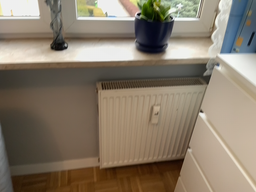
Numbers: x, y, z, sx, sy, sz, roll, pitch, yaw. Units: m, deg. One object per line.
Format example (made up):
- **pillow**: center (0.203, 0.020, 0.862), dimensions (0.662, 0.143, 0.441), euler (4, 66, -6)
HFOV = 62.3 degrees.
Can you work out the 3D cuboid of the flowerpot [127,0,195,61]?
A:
- **flowerpot**: center (0.140, -0.360, 1.090), dimensions (0.230, 0.220, 0.350), euler (-1, 35, -8)
